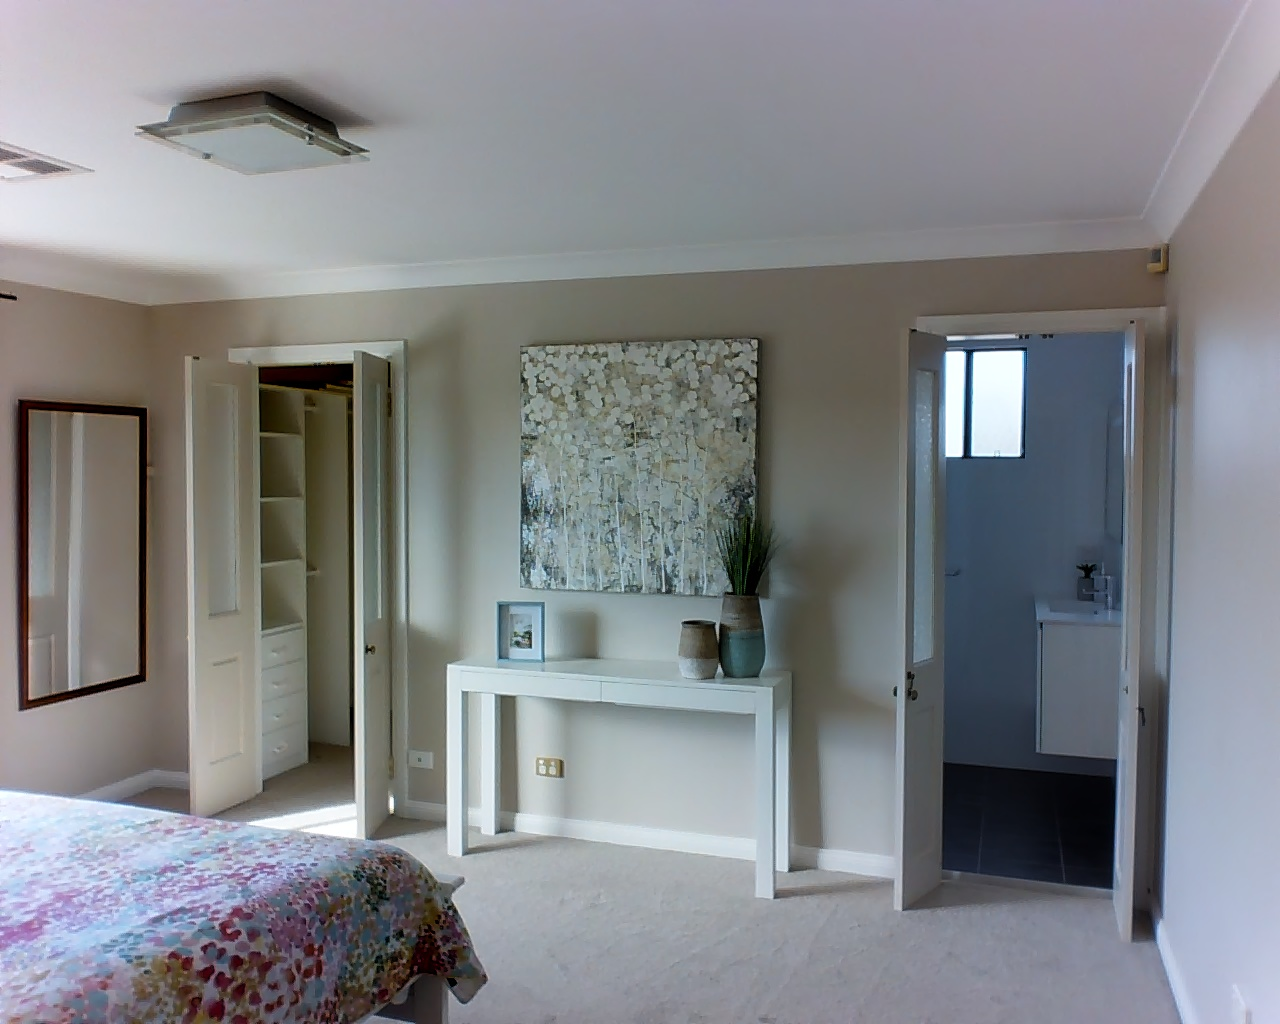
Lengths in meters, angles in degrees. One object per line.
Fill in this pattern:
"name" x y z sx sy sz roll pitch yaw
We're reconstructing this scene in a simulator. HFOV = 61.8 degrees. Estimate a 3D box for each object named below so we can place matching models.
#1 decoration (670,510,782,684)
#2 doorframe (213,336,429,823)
"decoration" 0.320 0.310 4.050 0.390 0.630 0.260 0 2 -3
"doorframe" -1.450 0.290 4.840 1.000 2.101 0.180 1 2 19
